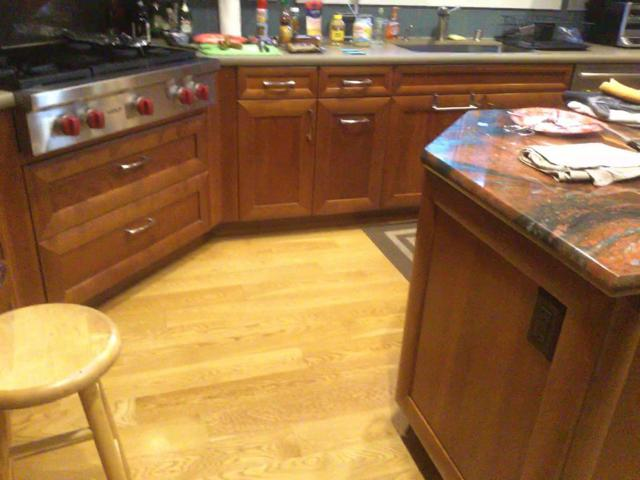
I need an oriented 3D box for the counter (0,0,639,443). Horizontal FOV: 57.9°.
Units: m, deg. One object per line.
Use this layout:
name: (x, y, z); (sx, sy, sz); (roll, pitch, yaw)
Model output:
counter: (0.310, -0.590, 2.010); (3.800, 0.380, 2.580); (-3, 28, -22)
